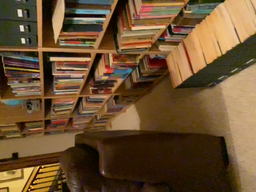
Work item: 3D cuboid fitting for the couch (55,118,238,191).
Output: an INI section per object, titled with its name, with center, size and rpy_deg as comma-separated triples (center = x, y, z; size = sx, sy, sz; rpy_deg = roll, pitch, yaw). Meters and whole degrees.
[couch]
center = 0.020, 0.780, 1.590
size = 1.140, 0.940, 1.080
rpy_deg = 158, 107, -67
